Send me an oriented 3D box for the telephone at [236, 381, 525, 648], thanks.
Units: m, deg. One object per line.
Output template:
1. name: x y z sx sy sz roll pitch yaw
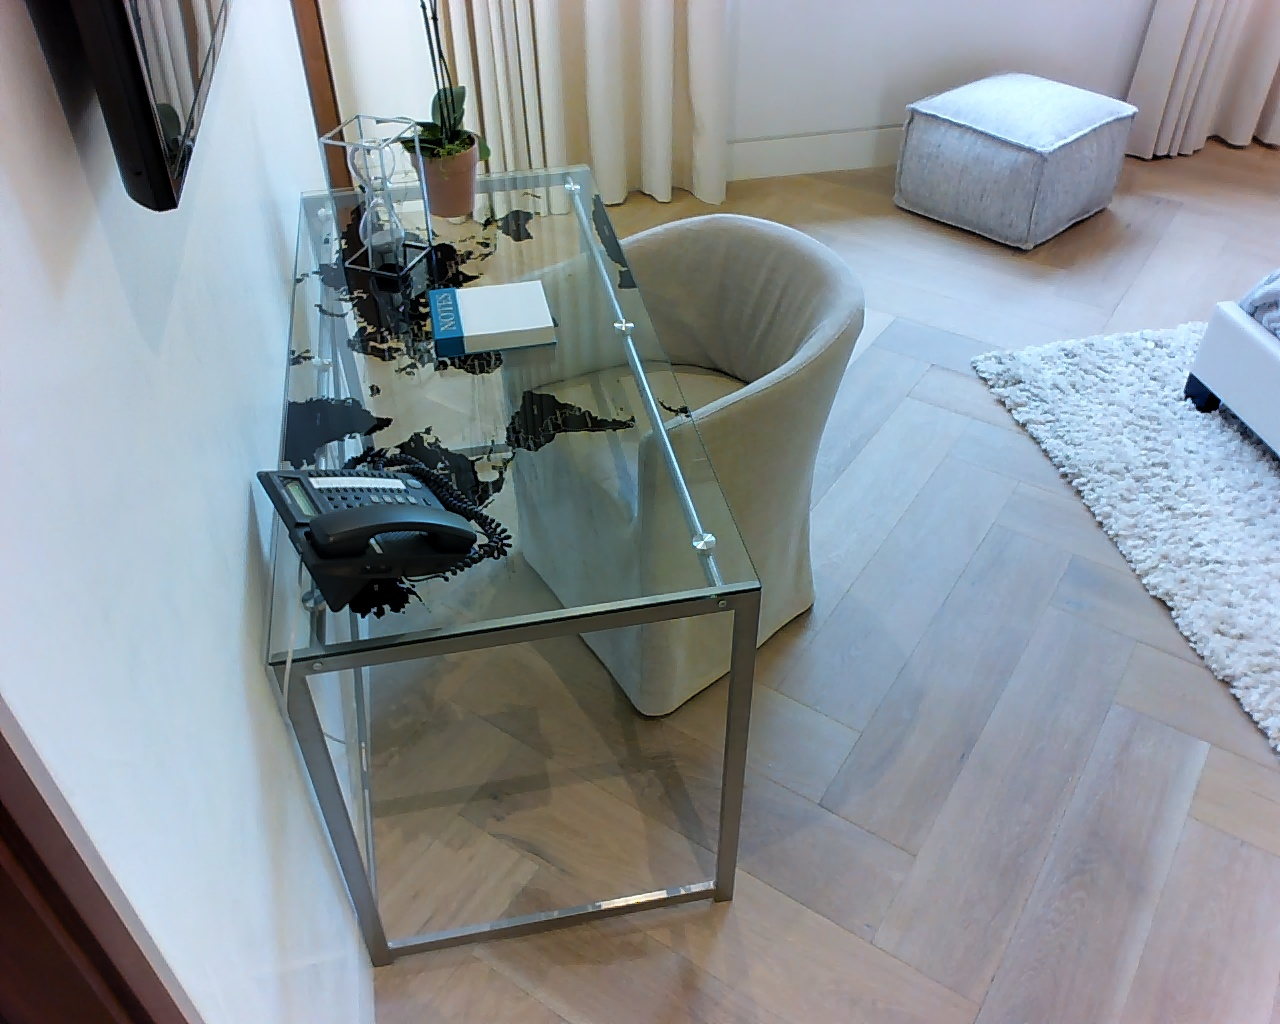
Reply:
1. telephone: -0.330 -0.010 1.360 0.250 0.120 0.290 -23 46 -24

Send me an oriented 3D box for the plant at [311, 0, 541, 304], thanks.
1. plant: -0.380 -0.850 1.890 0.190 0.880 0.320 23 46 25
